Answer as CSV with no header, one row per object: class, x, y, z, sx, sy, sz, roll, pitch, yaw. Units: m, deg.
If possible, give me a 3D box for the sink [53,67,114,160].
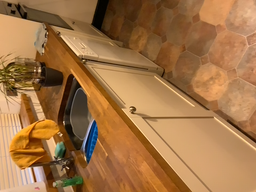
sink,-0.310,0.100,1.360,0.380,0.160,0.430,44,122,44
